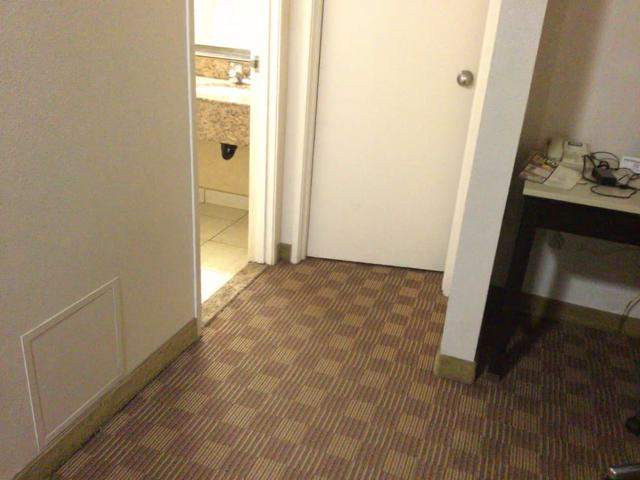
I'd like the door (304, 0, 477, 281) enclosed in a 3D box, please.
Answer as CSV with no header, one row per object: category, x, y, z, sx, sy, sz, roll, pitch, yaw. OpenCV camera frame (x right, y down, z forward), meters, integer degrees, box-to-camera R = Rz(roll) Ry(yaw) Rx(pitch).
door,0.320,-0.710,2.700,0.670,1.840,0.130,6,21,6
